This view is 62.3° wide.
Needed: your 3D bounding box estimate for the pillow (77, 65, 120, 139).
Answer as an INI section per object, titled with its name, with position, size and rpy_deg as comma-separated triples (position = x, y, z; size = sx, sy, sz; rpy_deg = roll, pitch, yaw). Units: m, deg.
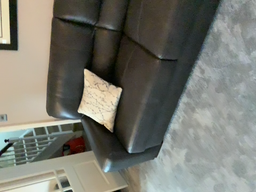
[pillow]
position = -0.300, 0.040, 1.970
size = 0.450, 0.200, 0.520
rpy_deg = 45, 133, 47
